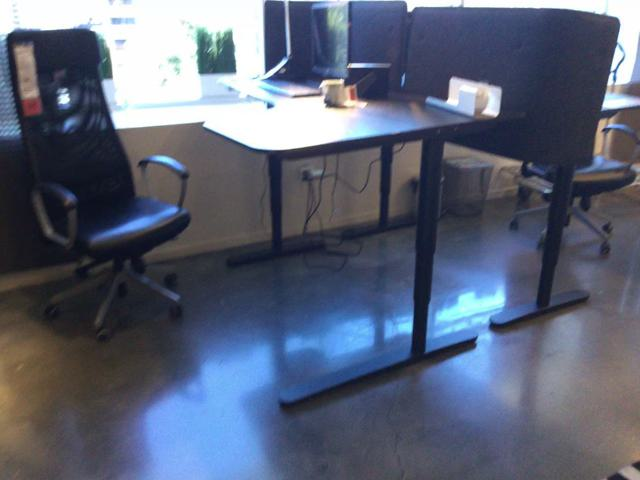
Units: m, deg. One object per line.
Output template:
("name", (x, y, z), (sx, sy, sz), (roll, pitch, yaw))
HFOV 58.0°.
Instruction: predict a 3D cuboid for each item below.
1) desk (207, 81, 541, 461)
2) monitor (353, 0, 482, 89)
("desk", (0.240, 0.050, 2.140), (1.010, 1.060, 0.500), (-16, 22, -19))
("monitor", (0.460, -0.970, 2.780), (0.390, 0.390, 0.470), (-16, 22, -19))
